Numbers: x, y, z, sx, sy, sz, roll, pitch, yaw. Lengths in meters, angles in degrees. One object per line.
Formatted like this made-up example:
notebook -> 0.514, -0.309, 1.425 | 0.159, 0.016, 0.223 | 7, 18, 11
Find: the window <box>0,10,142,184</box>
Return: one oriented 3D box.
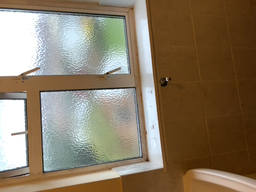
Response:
window -> -0.340, -0.030, 1.200 | 0.050, 0.790, 0.890 | 155, 111, -70
